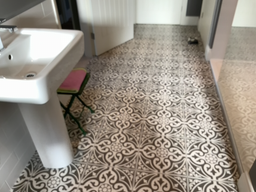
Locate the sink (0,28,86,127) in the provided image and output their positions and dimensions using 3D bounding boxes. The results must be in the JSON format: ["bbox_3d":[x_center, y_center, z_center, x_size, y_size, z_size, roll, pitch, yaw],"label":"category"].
[{"bbox_3d":[-0.510,-0.140,1.080,0.400,0.200,0.590,4,37,8],"label":"sink"}]
